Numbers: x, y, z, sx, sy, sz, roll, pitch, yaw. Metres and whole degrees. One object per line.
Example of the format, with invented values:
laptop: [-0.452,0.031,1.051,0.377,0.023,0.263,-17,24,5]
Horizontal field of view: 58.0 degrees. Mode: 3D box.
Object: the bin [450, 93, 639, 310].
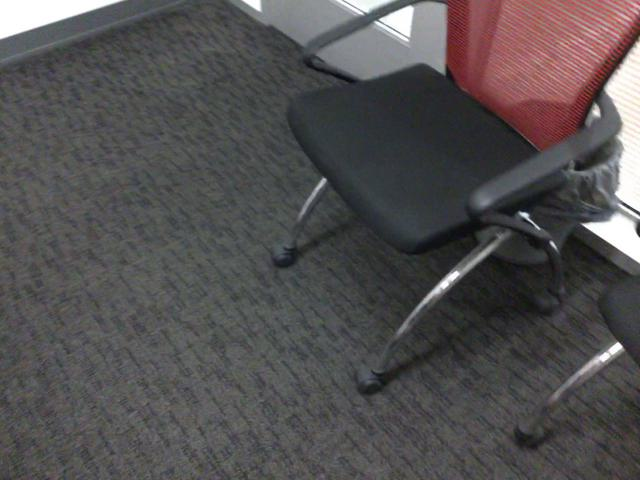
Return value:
bin: [0.580,-0.100,1.460,0.310,0.350,0.300,-31,56,-28]
